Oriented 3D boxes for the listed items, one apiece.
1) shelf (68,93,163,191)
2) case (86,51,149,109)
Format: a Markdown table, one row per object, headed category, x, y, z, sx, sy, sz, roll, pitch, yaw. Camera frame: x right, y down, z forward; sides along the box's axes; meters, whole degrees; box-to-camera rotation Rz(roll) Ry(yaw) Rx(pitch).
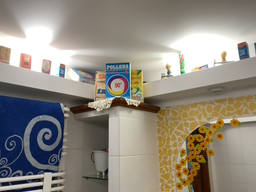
| category | x | y | z | sx | sy | sz | roll | pitch | yaw |
| --- | --- | --- | --- | --- | --- | --- | --- | --- | --- |
| shelf | -0.070 | 0.620 | 1.240 | 0.400 | 1.170 | 0.390 | -12 | -17 | 39 |
| case | -0.070 | -0.080 | 1.320 | 0.300 | 0.260 | 0.240 | -12 | -17 | 39 |
